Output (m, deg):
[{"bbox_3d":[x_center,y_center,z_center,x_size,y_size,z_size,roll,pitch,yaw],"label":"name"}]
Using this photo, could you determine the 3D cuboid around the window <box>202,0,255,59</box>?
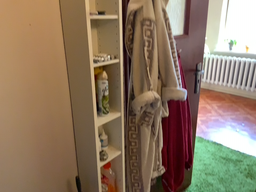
[{"bbox_3d":[2.020,-1.830,3.740,1.100,2.250,0.260,9,23,24],"label":"window"}]

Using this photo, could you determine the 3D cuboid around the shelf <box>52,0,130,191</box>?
[{"bbox_3d":[-0.150,0.100,1.110,0.180,2.010,0.260,17,28,39],"label":"shelf"}]
